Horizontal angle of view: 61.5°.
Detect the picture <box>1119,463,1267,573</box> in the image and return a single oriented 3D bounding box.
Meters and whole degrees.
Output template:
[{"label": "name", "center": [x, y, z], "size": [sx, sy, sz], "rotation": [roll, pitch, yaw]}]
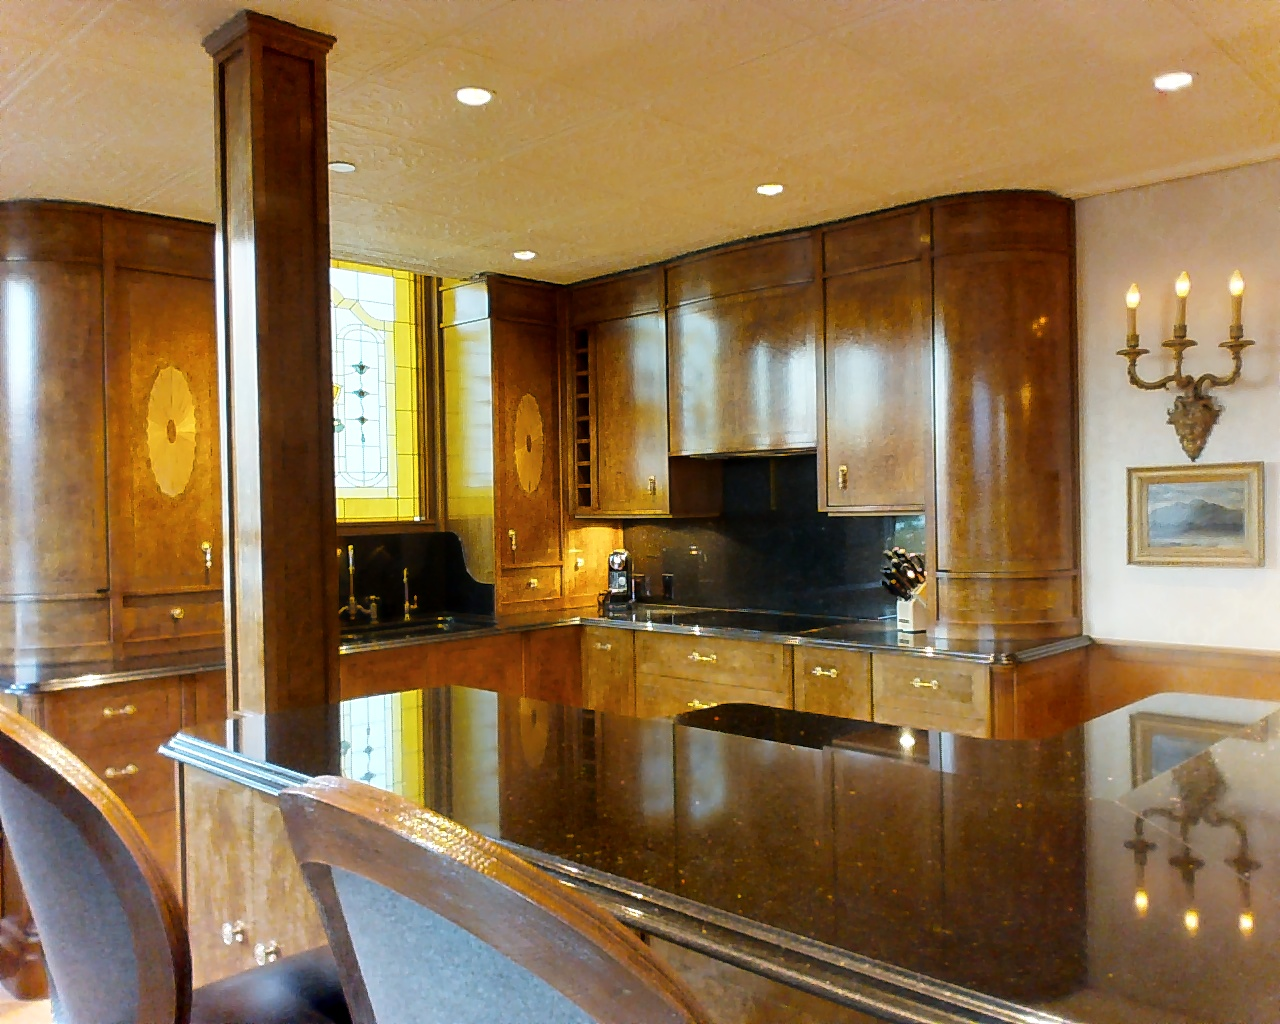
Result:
[{"label": "picture", "center": [1.790, 0.020, 3.500], "size": [0.430, 0.340, 0.040], "rotation": [-1, 0, 44]}]
